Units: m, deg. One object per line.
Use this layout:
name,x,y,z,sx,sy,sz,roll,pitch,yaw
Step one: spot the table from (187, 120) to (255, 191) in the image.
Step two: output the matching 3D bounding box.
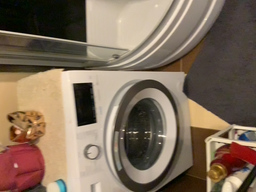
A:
table,0.500,0.340,1.030,0.290,0.330,0.370,1,95,41
